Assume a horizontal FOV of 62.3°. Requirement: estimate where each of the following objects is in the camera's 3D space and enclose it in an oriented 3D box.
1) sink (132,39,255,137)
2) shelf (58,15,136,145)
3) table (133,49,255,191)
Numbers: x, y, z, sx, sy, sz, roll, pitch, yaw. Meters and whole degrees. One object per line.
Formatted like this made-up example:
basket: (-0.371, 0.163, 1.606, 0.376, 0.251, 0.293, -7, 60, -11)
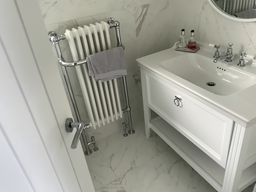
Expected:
sink: (0.510, -0.160, 1.450, 0.530, 0.140, 1.000, -21, 34, -21)
shelf: (-0.220, -0.110, 1.780, 0.410, 0.980, 0.270, -21, 34, -21)
table: (0.550, 0.170, 1.650, 0.530, 0.740, 0.970, -21, 34, -21)
